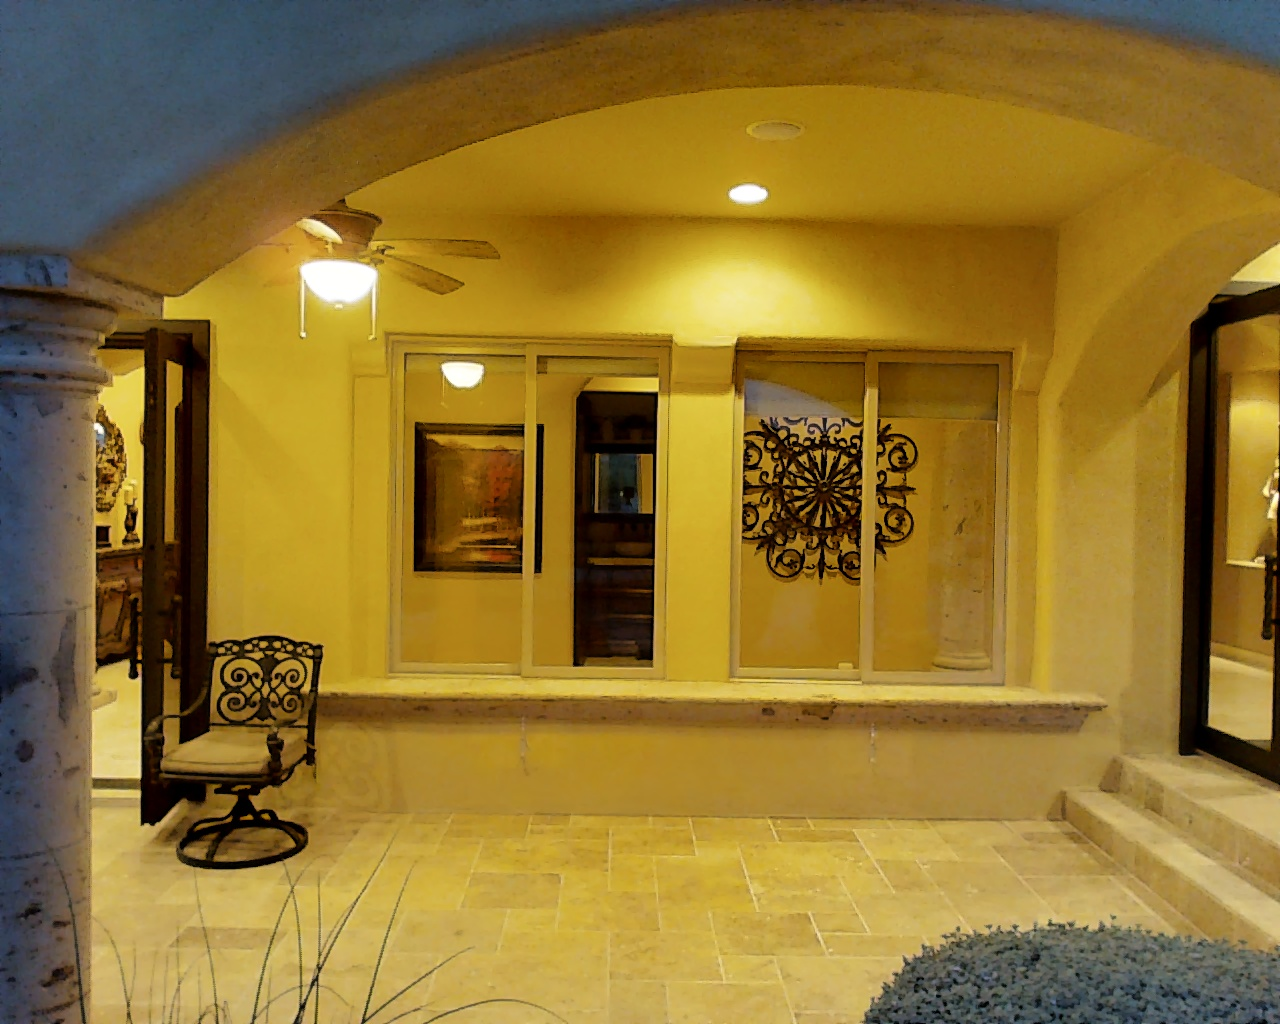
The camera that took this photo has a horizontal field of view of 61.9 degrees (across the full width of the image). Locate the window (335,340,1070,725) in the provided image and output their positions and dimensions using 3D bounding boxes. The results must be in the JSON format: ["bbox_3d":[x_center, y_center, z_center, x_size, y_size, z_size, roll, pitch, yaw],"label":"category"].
[{"bbox_3d":[0.320,0.110,5.690,3.760,1.940,0.410,1,1,-1],"label":"window"}]
